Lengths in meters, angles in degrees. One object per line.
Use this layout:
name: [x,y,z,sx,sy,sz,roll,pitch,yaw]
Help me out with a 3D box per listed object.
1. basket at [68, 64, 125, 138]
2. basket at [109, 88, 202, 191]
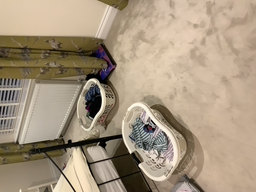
basket: [-0.420,0.080,2.560,0.760,0.240,0.540,-48,56,40]
basket: [0.180,0.370,1.820,0.660,0.220,0.580,56,130,34]
